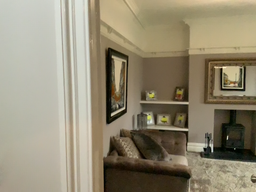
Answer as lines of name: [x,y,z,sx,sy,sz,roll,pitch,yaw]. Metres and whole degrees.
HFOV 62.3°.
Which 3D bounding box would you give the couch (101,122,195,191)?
couch: [0.420,0.980,3.340,1.100,0.730,1.750,1,6,14]
